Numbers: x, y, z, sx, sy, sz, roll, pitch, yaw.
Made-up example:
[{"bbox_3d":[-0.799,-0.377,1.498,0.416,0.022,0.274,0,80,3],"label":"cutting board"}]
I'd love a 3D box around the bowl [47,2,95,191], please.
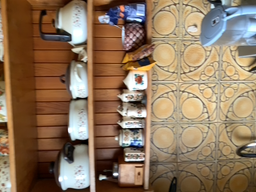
[{"bbox_3d":[-0.220,0.030,0.880,0.220,0.140,0.730,-125,35,-82],"label":"bowl"}]

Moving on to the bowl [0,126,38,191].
[{"bbox_3d":[-0.510,0.280,0.850,0.220,0.210,0.270,-128,38,-83],"label":"bowl"}]

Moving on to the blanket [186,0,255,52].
[{"bbox_3d":[0.390,-0.310,0.810,0.350,0.210,0.240,-125,35,-82],"label":"blanket"}]

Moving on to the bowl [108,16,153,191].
[{"bbox_3d":[0.000,0.040,0.930,0.170,0.170,0.710,-125,35,-82],"label":"bowl"}]
